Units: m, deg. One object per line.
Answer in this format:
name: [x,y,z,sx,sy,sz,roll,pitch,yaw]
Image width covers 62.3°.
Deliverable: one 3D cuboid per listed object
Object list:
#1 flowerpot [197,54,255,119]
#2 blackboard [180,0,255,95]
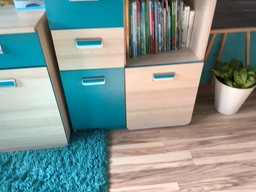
flowerpot: [0.780,-0.080,1.570,0.370,0.330,0.320,-5,38,-6]
blackboard: [0.760,-0.450,1.500,0.640,1.000,0.060,-5,38,-6]
